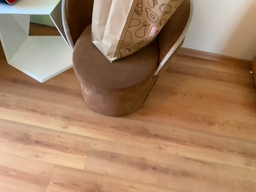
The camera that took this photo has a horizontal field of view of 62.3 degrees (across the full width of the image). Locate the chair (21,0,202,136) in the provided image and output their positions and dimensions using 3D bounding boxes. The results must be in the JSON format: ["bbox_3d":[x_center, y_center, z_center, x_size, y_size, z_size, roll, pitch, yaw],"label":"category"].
[{"bbox_3d":[-0.030,-0.330,1.220,0.630,0.770,0.700,16,54,4],"label":"chair"}]

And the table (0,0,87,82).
[{"bbox_3d":[-0.620,-0.510,1.420,0.540,0.510,0.550,10,54,-1],"label":"table"}]
